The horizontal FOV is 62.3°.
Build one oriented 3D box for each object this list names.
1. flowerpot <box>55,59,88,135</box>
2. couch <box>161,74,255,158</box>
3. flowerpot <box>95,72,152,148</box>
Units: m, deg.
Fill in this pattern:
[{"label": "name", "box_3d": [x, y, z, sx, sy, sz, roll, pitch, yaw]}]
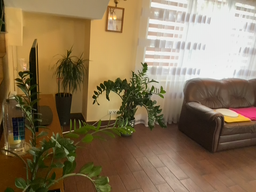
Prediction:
[{"label": "flowerpot", "box_3d": [-0.890, -0.010, 3.220, 0.380, 1.010, 0.570, -1, 18, -23]}, {"label": "couch", "box_3d": [1.980, 0.210, 3.600, 2.510, 0.870, 1.100, -1, 18, -23]}, {"label": "flowerpot", "box_3d": [-0.100, 0.170, 3.080, 0.570, 0.910, 0.610, 0, 18, -21]}]
